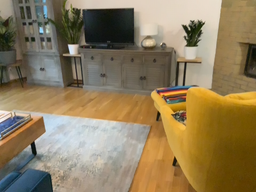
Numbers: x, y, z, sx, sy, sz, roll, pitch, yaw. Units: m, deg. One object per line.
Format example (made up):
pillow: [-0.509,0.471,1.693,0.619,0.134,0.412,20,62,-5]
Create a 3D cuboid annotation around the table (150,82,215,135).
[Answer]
table: [0.710,0.150,2.910,0.700,0.530,0.440,-4,22,-10]
